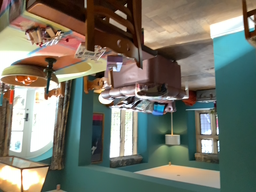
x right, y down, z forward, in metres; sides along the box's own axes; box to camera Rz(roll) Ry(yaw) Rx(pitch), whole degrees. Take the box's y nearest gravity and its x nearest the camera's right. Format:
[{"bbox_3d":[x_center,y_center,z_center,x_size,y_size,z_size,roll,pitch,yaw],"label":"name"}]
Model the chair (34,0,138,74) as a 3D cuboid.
[{"bbox_3d":[-0.250,-0.660,1.420,0.460,0.900,0.450,-5,170,34],"label":"chair"}]
